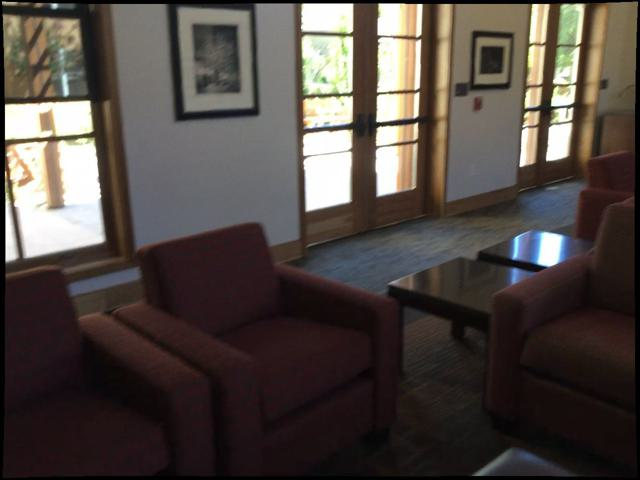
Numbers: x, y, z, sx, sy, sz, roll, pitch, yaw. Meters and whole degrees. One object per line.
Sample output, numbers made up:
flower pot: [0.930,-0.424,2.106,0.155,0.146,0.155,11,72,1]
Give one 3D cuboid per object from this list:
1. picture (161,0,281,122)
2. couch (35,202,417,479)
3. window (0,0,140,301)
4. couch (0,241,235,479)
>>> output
picture: [-0.629,-1.221,3.860,0.790,0.761,0.120,-18,23,-39]
couch: [-0.310,0.410,2.190,1.059,0.801,0.860,-18,23,-39]
window: [-1.768,-0.711,3.140,1.189,1.992,0.430,-18,23,-39]
couch: [-0.869,0.571,1.710,0.870,0.801,0.850,-18,23,-39]
